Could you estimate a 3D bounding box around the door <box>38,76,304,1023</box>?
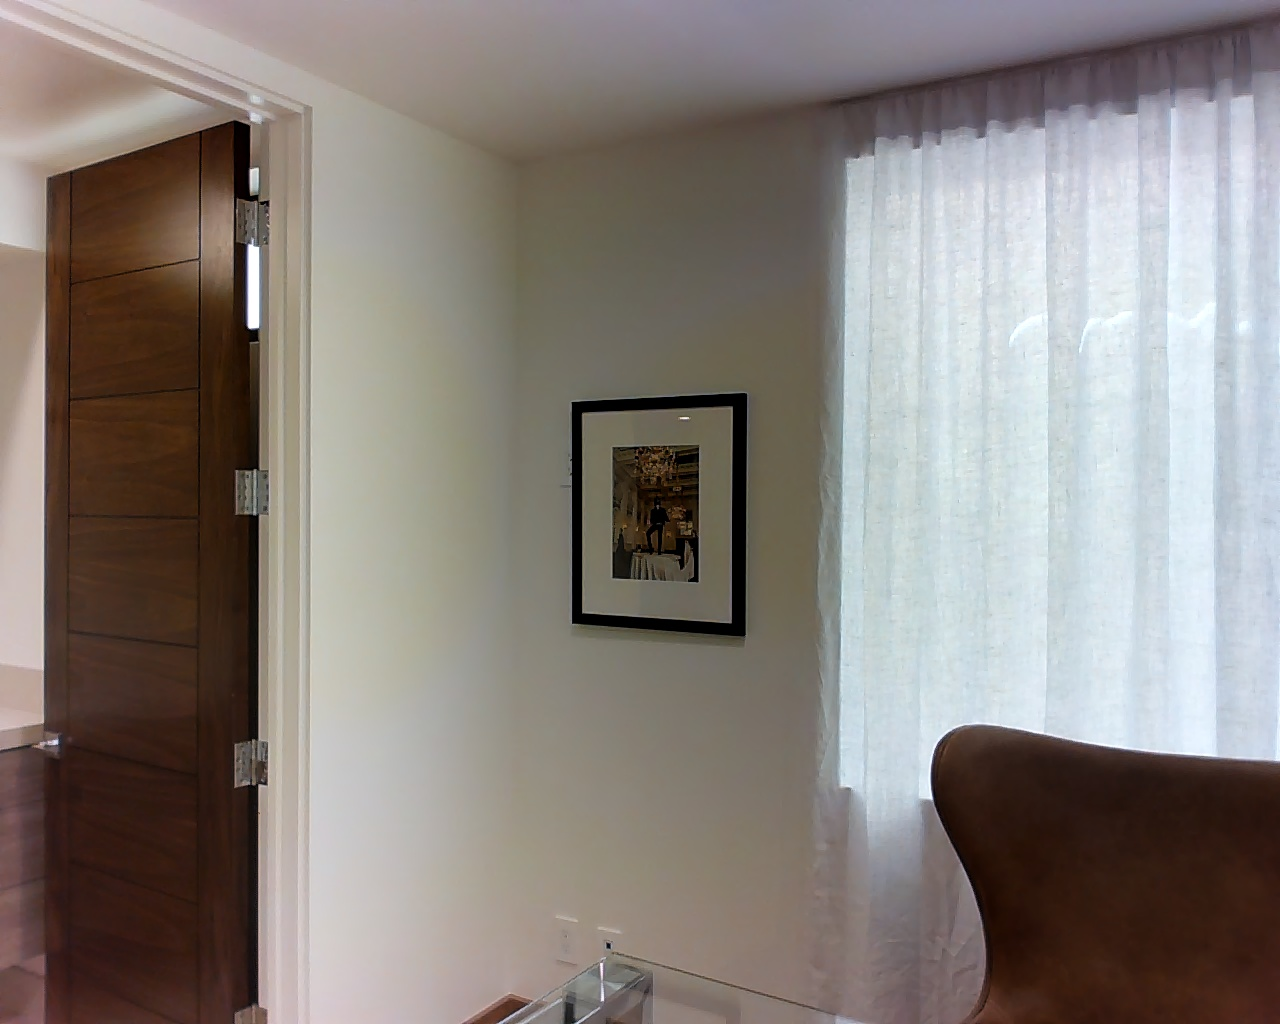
[{"bbox_3d":[-1.200,0.270,2.690,0.970,2.490,0.060,1,1,31],"label":"door"}]
